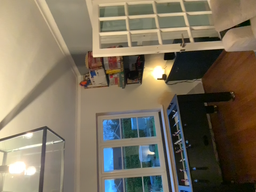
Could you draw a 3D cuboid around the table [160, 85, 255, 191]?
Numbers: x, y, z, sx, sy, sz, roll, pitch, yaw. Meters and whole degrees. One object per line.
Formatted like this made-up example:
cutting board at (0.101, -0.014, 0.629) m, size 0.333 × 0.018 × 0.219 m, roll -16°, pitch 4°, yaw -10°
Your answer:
table at (1.140, 0.770, 3.460) m, size 1.080 × 0.910 × 1.530 m, roll 91°, pitch 176°, yaw -68°
